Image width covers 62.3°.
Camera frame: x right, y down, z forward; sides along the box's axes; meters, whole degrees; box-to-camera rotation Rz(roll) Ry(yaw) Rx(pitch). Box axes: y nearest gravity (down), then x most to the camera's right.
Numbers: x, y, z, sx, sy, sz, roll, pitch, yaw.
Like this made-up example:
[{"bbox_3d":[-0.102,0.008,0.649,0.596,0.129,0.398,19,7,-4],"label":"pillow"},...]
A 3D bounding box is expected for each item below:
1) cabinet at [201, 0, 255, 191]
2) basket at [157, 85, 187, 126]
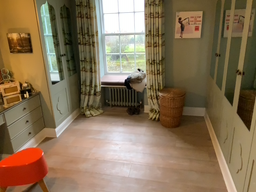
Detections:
[{"bbox_3d":[1.290,-0.440,1.840,0.690,2.720,3.180,2,20,11],"label":"cabinet"},{"bbox_3d":[0.710,0.140,3.450,0.440,0.550,0.360,2,20,12],"label":"basket"}]
